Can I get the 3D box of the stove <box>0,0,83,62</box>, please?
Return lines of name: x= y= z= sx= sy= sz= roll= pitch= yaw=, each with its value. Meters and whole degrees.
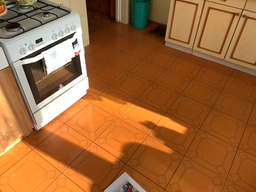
stove: x=-0.770 y=-0.530 z=1.550 sx=0.610 sy=0.120 sz=0.590 roll=27 pitch=47 yaw=24

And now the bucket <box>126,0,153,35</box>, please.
bucket: x=0.170 y=-1.250 z=3.340 sx=0.290 sy=0.420 sz=0.280 roll=27 pitch=47 yaw=24
